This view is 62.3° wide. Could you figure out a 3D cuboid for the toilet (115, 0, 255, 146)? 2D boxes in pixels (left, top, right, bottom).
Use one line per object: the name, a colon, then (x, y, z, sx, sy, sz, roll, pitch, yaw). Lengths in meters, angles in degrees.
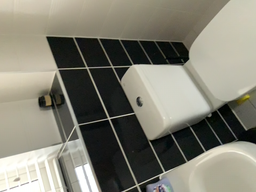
toilet: (0.450, -0.160, 1.020, 0.650, 0.750, 0.380, -53, 55, 45)
